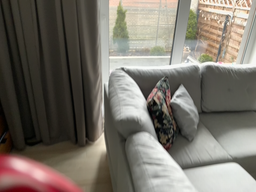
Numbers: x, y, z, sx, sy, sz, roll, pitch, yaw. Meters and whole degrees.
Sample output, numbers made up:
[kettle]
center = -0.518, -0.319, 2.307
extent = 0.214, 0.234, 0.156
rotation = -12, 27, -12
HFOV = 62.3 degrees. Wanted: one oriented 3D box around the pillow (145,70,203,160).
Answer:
[pillow]
center = 0.390, 0.130, 1.670
extent = 0.210, 0.390, 0.570
rotation = 4, 45, 33
